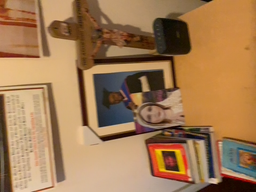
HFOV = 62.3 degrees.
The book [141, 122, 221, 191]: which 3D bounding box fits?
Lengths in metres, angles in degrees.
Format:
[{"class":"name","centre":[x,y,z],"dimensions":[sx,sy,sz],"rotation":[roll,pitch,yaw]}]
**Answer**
[{"class":"book","centre":[0.180,0.200,0.770],"dimensions":[0.250,0.120,0.180],"rotation":[-3,93,54]}]
